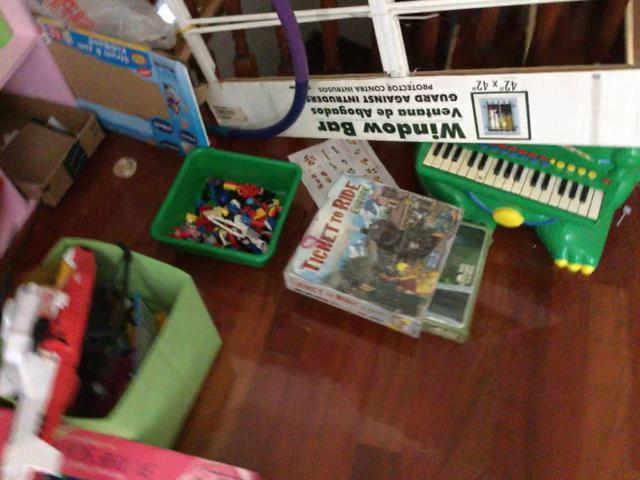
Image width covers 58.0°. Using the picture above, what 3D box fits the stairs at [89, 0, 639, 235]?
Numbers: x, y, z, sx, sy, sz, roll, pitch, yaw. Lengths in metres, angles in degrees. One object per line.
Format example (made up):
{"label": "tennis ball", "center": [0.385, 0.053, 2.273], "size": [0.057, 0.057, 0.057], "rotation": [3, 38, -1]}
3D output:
{"label": "stairs", "center": [0.120, -0.350, 1.210], "size": [1.200, 0.730, 0.150], "rotation": [10, 60, 33]}
